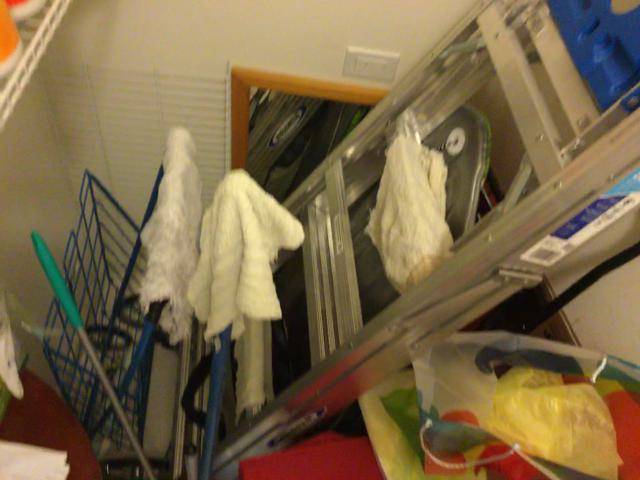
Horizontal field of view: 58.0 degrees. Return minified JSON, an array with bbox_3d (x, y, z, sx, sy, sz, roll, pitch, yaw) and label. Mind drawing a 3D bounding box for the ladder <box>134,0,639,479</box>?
[{"bbox_3d":[-0.010,0.050,1.110,0.120,0.540,1.700,10,-40,-34],"label":"ladder"}]
